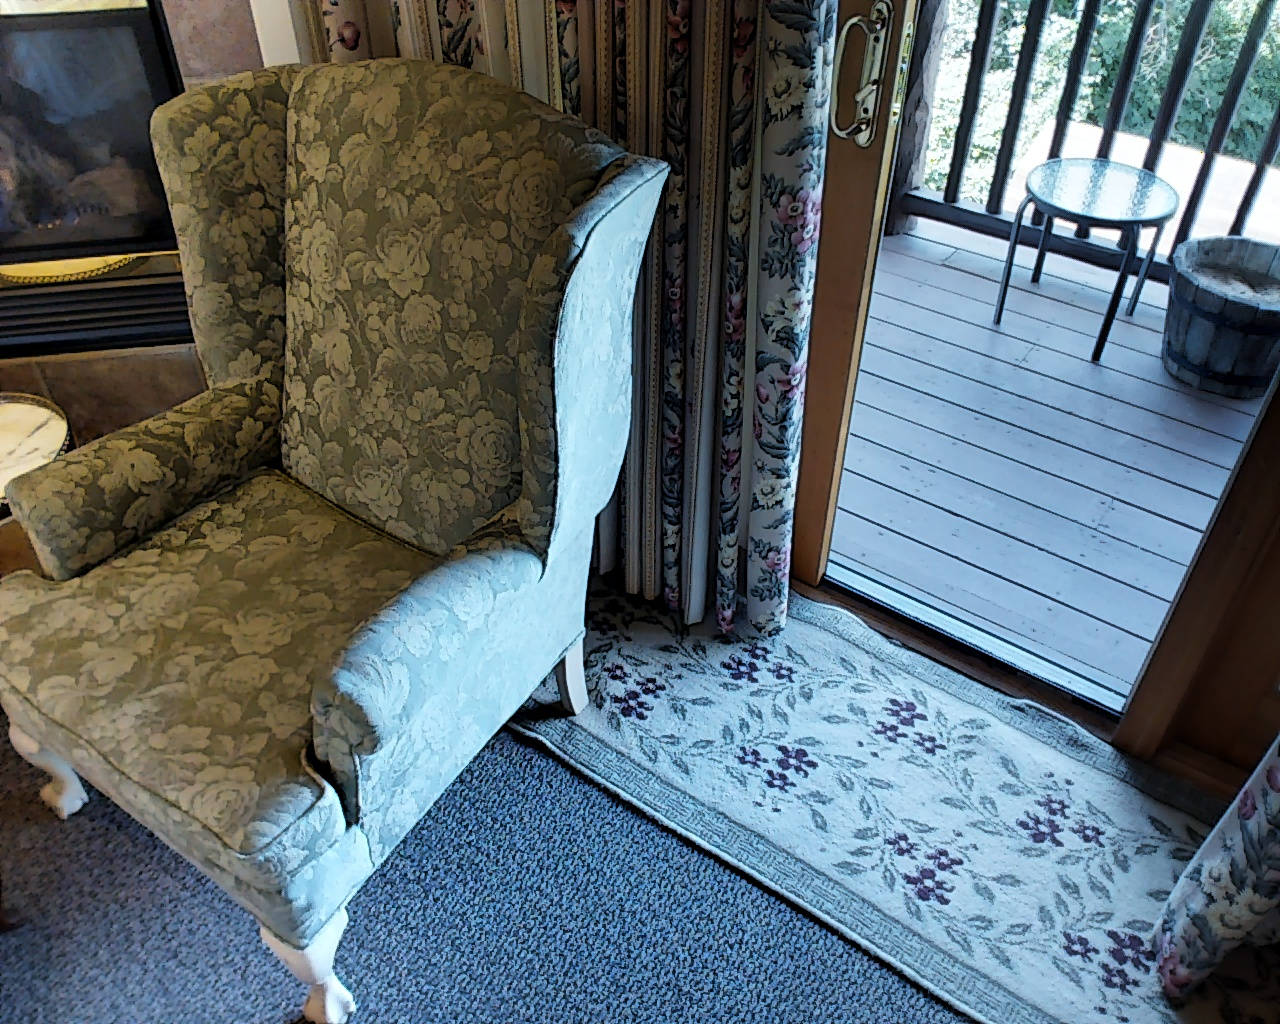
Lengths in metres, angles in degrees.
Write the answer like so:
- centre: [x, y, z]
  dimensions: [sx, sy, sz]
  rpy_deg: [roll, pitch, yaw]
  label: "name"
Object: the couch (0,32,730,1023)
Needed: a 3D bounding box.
- centre: [-0.500, 0.010, 1.610]
  dimensions: [0.850, 1.010, 0.950]
  rpy_deg: [24, 46, 25]
  label: "couch"
